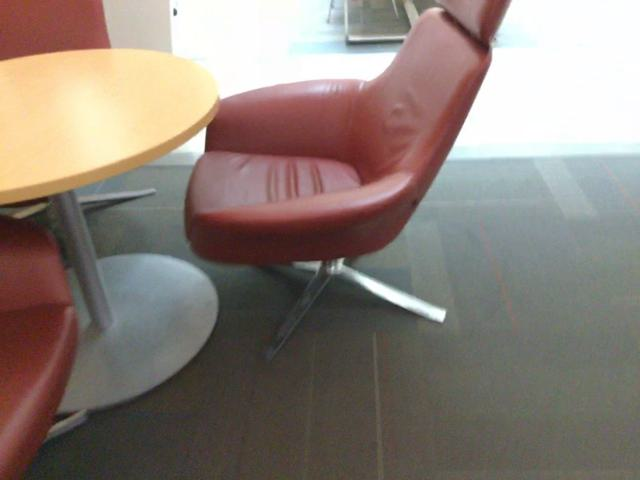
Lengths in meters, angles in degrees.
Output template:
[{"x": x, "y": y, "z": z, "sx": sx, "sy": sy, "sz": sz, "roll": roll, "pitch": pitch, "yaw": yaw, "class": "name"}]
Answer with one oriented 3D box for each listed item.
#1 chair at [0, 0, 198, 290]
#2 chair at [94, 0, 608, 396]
[{"x": -1.030, "y": -0.520, "z": 2.070, "sx": 0.890, "sy": 1.040, "sz": 0.900, "roll": -5, "pitch": 36, "yaw": -1, "class": "chair"}, {"x": 0.070, "y": -0.280, "z": 1.660, "sx": 0.900, "sy": 1.040, "sz": 0.890, "roll": -4, "pitch": 36, "yaw": 0, "class": "chair"}]
